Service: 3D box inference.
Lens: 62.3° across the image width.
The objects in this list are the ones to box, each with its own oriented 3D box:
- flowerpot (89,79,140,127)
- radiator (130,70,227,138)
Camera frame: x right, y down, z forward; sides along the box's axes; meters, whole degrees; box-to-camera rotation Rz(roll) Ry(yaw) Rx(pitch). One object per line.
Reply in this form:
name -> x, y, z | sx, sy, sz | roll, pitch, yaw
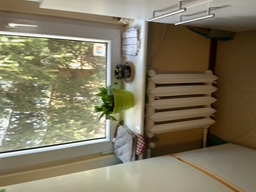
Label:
flowerpot -> -0.090, 0.030, 1.340 | 0.210, 0.250, 0.250 | 20, 109, 60
radiator -> 0.380, 0.030, 1.530 | 0.200, 0.720, 0.410 | 11, 102, 61
